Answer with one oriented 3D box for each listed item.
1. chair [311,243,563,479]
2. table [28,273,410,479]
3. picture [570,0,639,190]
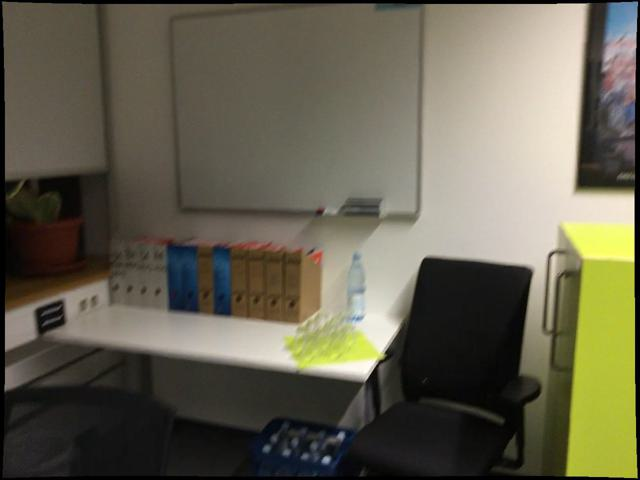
[{"bbox_3d":[0.460,0.611,2.180,0.739,1.021,0.790,3,12,19],"label":"chair"},{"bbox_3d":[-0.400,0.611,2.530,1.459,0.681,0.680,3,12,19],"label":"table"},{"bbox_3d":[1.299,-0.601,2.100,0.659,0.841,0.060,3,12,19],"label":"picture"}]
